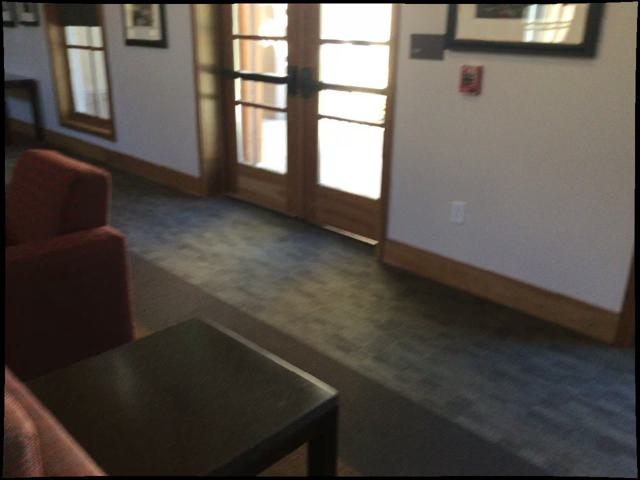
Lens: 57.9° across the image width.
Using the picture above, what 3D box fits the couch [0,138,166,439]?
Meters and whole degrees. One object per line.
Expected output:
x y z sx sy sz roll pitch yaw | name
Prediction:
-1.319 0.150 2.210 1.039 0.811 0.920 -18 28 -39 | couch

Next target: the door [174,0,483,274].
-0.080 -1.131 3.820 0.720 2.032 2.099 -18 28 -39 | door
